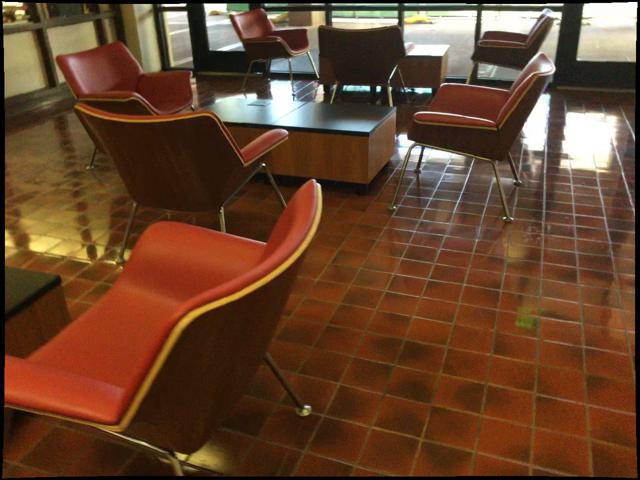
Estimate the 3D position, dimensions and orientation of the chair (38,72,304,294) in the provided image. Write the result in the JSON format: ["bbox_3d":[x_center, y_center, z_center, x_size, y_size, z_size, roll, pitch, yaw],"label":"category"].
[{"bbox_3d":[-0.638,-0.331,2.790,0.858,0.772,0.780,7,28,18],"label":"chair"}]

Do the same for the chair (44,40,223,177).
[{"bbox_3d":[-1.287,-0.983,4.160,0.768,0.752,0.840,7,28,19],"label":"chair"}]

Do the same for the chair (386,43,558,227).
[{"bbox_3d":[0.878,-0.652,3.320,0.808,0.802,0.830,7,28,19],"label":"chair"}]
